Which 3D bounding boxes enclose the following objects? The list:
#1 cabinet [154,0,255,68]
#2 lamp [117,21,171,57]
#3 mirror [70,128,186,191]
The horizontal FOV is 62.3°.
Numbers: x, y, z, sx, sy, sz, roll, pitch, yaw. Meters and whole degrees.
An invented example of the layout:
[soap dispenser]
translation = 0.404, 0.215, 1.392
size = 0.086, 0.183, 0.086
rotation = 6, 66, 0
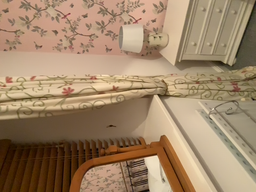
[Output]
[cabinet]
translation = 0.660, -0.650, 1.920
size = 0.420, 0.630, 0.660
rotation = -112, 25, -55
[lamp]
translation = 0.130, -0.500, 1.870
size = 0.200, 0.410, 0.250
rotation = -113, 26, -57
[mirror]
translation = -0.020, 0.460, 1.070
size = 0.560, 0.500, 0.200
rotation = -113, 17, -56
